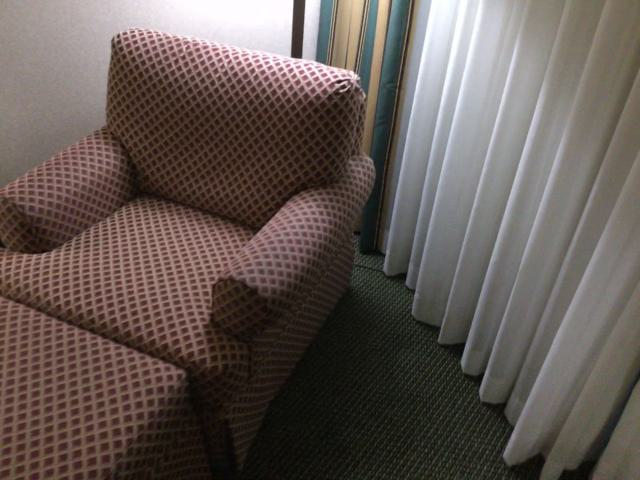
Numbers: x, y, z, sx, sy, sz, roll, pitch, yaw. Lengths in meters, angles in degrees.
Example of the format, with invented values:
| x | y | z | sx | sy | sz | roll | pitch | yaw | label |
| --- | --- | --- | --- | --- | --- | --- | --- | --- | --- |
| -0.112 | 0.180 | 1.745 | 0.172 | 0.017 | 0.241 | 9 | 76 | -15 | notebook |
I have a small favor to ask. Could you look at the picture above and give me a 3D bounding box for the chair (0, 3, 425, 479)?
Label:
| x | y | z | sx | sy | sz | roll | pitch | yaw | label |
| --- | --- | --- | --- | --- | --- | --- | --- | --- | --- |
| -0.390 | -0.060 | 1.660 | 0.990 | 0.850 | 0.950 | 19 | 37 | 19 | chair |
